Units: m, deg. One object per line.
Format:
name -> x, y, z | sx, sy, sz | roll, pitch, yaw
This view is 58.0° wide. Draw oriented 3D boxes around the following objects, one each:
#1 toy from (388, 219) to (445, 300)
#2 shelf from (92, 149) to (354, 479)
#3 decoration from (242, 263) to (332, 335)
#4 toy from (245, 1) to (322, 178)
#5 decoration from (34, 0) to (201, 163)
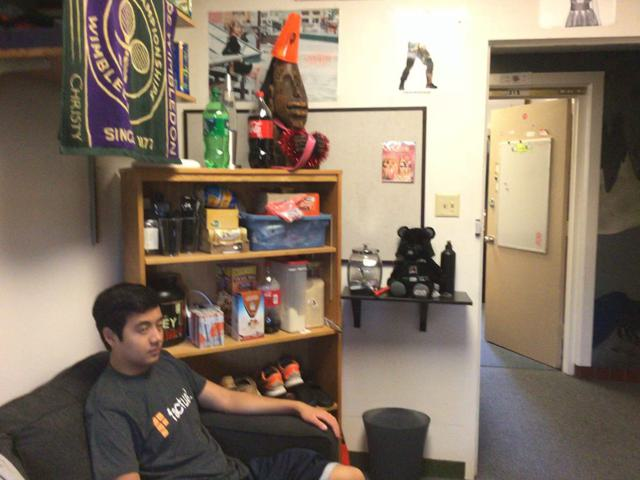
toy -> 0.440, 0.080, 2.630 | 0.240, 0.330, 0.270 | -1, 6, 10
shelf -> -0.340, 0.400, 2.540 | 0.880, 1.540, 0.800 | 1, 6, 10
decoration -> -0.140, 0.260, 2.660 | 0.340, 0.250, 0.350 | 1, 6, 10
toy -> -0.170, -0.660, 2.660 | 0.260, 0.740, 0.290 | -3, 7, -25
decoration -> -0.620, -0.690, 1.910 | 0.140, 0.850, 0.790 | 1, 6, 10
